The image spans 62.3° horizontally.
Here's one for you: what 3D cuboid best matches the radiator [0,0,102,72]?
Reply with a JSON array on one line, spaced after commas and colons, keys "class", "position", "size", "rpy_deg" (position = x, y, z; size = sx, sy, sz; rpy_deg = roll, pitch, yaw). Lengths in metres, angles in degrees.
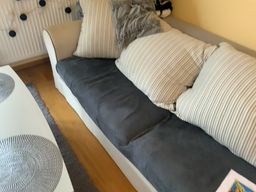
[{"class": "radiator", "position": [-0.930, -0.690, 2.210], "size": [1.390, 0.660, 0.140], "rpy_deg": [-22, 46, -27]}]
